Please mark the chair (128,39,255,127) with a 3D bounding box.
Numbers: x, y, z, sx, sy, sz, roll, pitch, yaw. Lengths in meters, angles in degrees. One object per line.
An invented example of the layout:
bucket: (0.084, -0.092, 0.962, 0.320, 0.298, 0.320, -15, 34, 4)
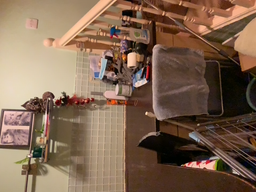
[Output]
chair: (0.510, -0.030, 1.560, 0.450, 0.920, 0.470, 148, 124, -68)
